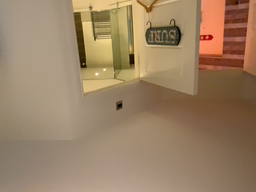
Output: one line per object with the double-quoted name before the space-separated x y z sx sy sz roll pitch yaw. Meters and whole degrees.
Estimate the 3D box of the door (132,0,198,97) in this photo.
"door" 0.260 -1.060 1.780 0.030 2.030 0.840 -13 -161 -29
